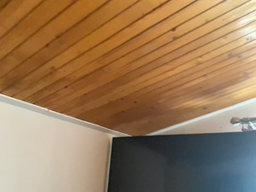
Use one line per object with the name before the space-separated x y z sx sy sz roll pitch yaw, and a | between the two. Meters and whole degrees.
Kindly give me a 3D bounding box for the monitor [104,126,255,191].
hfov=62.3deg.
monitor | 0.340 0.570 1.310 1.110 0.700 0.090 -9 -24 28
